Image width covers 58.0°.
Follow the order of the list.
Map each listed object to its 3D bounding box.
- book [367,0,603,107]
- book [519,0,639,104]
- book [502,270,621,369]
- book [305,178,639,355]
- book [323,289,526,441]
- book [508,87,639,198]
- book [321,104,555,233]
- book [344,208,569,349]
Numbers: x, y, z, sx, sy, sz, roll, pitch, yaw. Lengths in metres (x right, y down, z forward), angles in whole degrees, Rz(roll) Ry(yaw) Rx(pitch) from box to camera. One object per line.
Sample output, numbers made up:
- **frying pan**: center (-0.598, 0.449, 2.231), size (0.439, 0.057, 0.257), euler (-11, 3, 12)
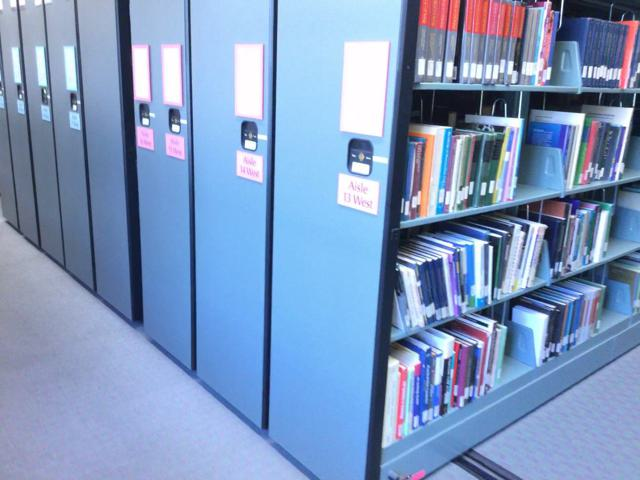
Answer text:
- **book**: center (0.540, -0.600, 1.740), size (0.950, 0.350, 0.140), euler (-8, 16, -39)
- **book**: center (1.070, -0.700, 2.190), size (0.760, 0.330, 0.200), euler (-8, 16, -39)
- **book**: center (1.040, 0.320, 2.470), size (0.570, 0.270, 0.200), euler (-8, 16, -39)
- **book**: center (0.670, 0.010, 2.180), size (1.510, 0.380, 0.410), euler (-8, 16, -39)
- **book**: center (0.390, 0.410, 2.080), size (0.710, 0.280, 0.320), euler (-8, 16, -39)
- **book**: center (1.100, -0.400, 2.330), size (0.680, 0.380, 0.300), euler (-8, 16, -39)
- **book**: center (0.400, -0.250, 1.860), size (0.780, 0.330, 0.290), euler (-8, 16, -39)
- **book**: center (0.490, 0.090, 1.970), size (0.830, 0.300, 0.280), euler (-8, 16, -39)
